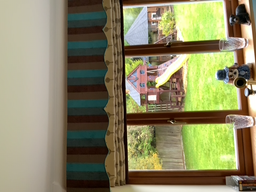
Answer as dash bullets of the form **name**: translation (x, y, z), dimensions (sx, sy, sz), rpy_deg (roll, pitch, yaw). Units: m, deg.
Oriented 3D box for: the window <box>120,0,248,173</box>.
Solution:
- **window**: translation (0.470, -0.160, 1.950), dimensions (0.080, 1.060, 1.670), rpy_deg (45, -136, -83)
